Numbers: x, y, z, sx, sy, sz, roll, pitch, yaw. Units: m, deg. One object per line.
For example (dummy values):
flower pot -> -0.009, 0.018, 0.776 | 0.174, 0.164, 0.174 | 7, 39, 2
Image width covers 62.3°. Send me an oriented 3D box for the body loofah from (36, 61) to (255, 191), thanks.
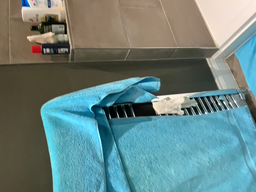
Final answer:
body loofah -> 0.220, 0.300, 0.990 | 0.200, 1.140, 0.940 | 127, 135, -59
